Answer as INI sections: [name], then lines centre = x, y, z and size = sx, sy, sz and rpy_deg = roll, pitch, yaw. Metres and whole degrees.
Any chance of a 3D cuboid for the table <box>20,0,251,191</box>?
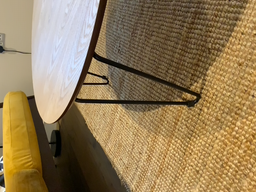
[table]
centre = -0.090, -0.320, 0.700
size = 0.800, 0.360, 0.810
rpy_deg = 40, 121, 51
